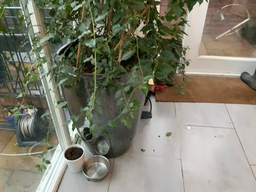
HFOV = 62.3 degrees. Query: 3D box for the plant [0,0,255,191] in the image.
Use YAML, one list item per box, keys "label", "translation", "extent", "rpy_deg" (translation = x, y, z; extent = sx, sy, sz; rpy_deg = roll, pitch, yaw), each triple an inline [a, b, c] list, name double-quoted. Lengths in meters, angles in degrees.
- label: "plant"
  translation: [0.150, -0.570, 0.910]
  extent: [1.000, 2.200, 0.960]
  rpy_deg: [7, 37, 7]
